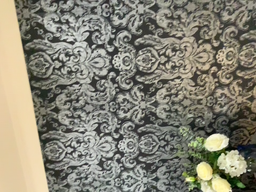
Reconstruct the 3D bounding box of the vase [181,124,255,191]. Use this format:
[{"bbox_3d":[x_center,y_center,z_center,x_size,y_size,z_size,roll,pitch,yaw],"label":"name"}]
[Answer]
[{"bbox_3d":[0.680,0.450,1.410,0.320,0.560,0.410,-106,14,-76],"label":"vase"}]
